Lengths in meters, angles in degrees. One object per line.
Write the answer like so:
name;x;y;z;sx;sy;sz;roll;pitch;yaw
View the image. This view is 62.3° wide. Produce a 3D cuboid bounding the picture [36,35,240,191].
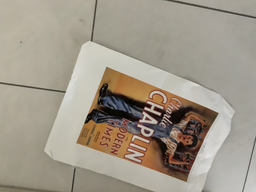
picture;0.020;0.050;0.370;0.290;0.030;0.200;22;96;-8
